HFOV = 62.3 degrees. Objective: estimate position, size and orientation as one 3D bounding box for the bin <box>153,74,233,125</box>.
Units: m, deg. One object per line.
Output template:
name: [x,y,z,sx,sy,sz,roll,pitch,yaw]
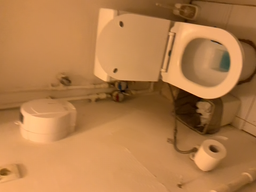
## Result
bin: [0.440,0.000,1.500,0.410,0.300,0.200,32,119,47]
